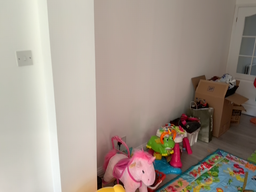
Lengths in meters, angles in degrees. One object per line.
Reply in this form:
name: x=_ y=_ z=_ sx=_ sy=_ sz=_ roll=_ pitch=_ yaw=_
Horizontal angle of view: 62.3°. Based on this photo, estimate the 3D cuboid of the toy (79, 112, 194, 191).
toy: x=0.080 y=0.660 z=2.210 sx=0.860 sy=0.620 sz=0.770 roll=-13 pitch=23 yaw=-41

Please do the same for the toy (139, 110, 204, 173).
toy: x=0.580 y=0.560 z=2.830 sx=0.690 sy=0.490 sz=0.500 roll=-13 pitch=23 yaw=-41
